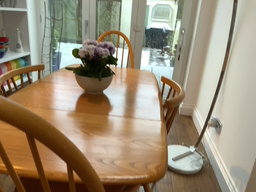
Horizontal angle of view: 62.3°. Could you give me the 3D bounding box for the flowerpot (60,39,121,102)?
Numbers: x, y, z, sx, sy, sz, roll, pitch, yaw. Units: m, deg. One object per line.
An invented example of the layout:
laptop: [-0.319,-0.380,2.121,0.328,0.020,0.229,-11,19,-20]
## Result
flowerpot: [-0.180,-0.140,1.070,0.240,0.250,0.220,7,21,4]
